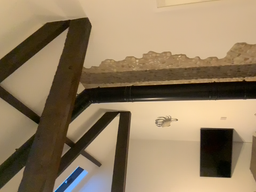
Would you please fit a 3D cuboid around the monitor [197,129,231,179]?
[{"bbox_3d":[1.550,1.050,3.850,0.040,0.530,0.920,-39,-51,-71],"label":"monitor"}]
